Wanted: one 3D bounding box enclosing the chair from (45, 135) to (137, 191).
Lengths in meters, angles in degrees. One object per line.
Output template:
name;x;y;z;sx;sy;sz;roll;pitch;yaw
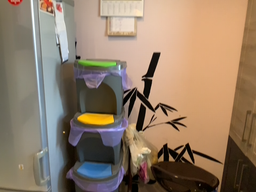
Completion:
chair;-0.200;0.760;1.440;0.470;0.820;0.480;3;15;4
